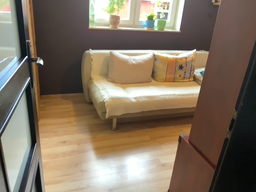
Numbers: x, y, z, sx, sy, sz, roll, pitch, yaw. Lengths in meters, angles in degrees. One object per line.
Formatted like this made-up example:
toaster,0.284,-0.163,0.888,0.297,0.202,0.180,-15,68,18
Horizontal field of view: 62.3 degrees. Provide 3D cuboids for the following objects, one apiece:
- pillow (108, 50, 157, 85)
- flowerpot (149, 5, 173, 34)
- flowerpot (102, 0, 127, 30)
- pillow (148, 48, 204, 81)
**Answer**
pillow,0.050,-0.380,2.810,0.570,0.390,0.230,-2,25,-18
flowerpot,0.510,-1.220,3.370,0.230,0.400,0.260,-1,25,-16
flowerpot,-0.200,-1.230,3.040,0.290,0.510,0.210,-3,25,-19
pillow,0.660,-0.440,2.970,0.660,0.400,0.240,-2,25,-17
